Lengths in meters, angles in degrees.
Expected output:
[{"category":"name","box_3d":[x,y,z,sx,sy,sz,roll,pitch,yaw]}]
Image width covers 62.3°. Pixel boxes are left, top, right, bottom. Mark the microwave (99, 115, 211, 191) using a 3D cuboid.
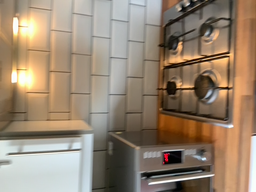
[{"category":"microwave","box_3d":[0.070,0.440,0.990,0.490,0.290,0.630,-167,80,-68]}]
